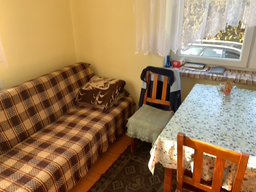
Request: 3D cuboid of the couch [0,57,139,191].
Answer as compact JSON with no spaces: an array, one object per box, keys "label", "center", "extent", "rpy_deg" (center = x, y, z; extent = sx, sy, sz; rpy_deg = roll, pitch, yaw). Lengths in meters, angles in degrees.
[{"label":"couch","center":[-0.750,0.270,2.180],"extent":[0.990,0.820,2.040],"rpy_deg":[11,26,24]}]
